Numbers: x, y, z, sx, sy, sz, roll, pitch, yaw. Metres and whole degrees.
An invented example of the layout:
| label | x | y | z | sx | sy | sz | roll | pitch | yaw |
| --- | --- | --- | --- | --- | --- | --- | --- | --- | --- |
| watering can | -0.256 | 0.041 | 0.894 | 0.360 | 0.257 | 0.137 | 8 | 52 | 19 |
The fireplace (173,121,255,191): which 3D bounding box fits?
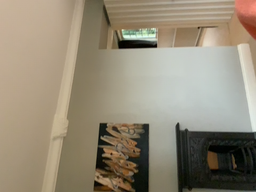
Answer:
| label | x | y | z | sx | sy | sz | roll | pitch | yaw |
| --- | --- | --- | --- | --- | --- | --- | --- | --- | --- |
| fireplace | 1.020 | 0.720 | 2.360 | 0.270 | 0.970 | 0.820 | 72 | -161 | -71 |
